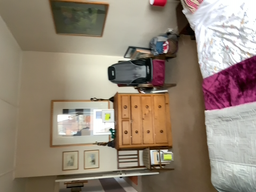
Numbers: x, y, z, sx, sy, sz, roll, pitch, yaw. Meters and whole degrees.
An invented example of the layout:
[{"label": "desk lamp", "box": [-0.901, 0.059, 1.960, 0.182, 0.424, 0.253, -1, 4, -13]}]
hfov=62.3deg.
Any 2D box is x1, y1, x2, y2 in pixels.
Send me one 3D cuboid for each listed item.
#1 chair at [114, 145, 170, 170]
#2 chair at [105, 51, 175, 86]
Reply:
[{"label": "chair", "box": [0.230, 1.100, 3.860, 0.480, 0.900, 0.360, 140, 130, -72]}, {"label": "chair", "box": [0.170, -0.460, 3.890, 0.870, 1.070, 0.500, -175, 86, -76]}]
